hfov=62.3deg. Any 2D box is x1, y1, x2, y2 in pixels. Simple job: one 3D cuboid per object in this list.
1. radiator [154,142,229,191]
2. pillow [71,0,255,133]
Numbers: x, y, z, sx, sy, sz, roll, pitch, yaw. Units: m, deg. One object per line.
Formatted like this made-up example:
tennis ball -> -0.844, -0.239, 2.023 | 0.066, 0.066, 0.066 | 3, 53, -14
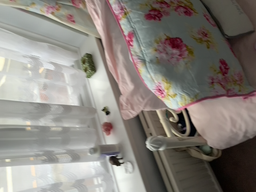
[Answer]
radiator -> 0.380, 0.470, 1.120 | 0.050, 0.490, 0.440 | -38, 60, 33
pillow -> 0.130, -0.330, 0.870 | 0.840, 0.500, 0.310 | 44, 109, 5
